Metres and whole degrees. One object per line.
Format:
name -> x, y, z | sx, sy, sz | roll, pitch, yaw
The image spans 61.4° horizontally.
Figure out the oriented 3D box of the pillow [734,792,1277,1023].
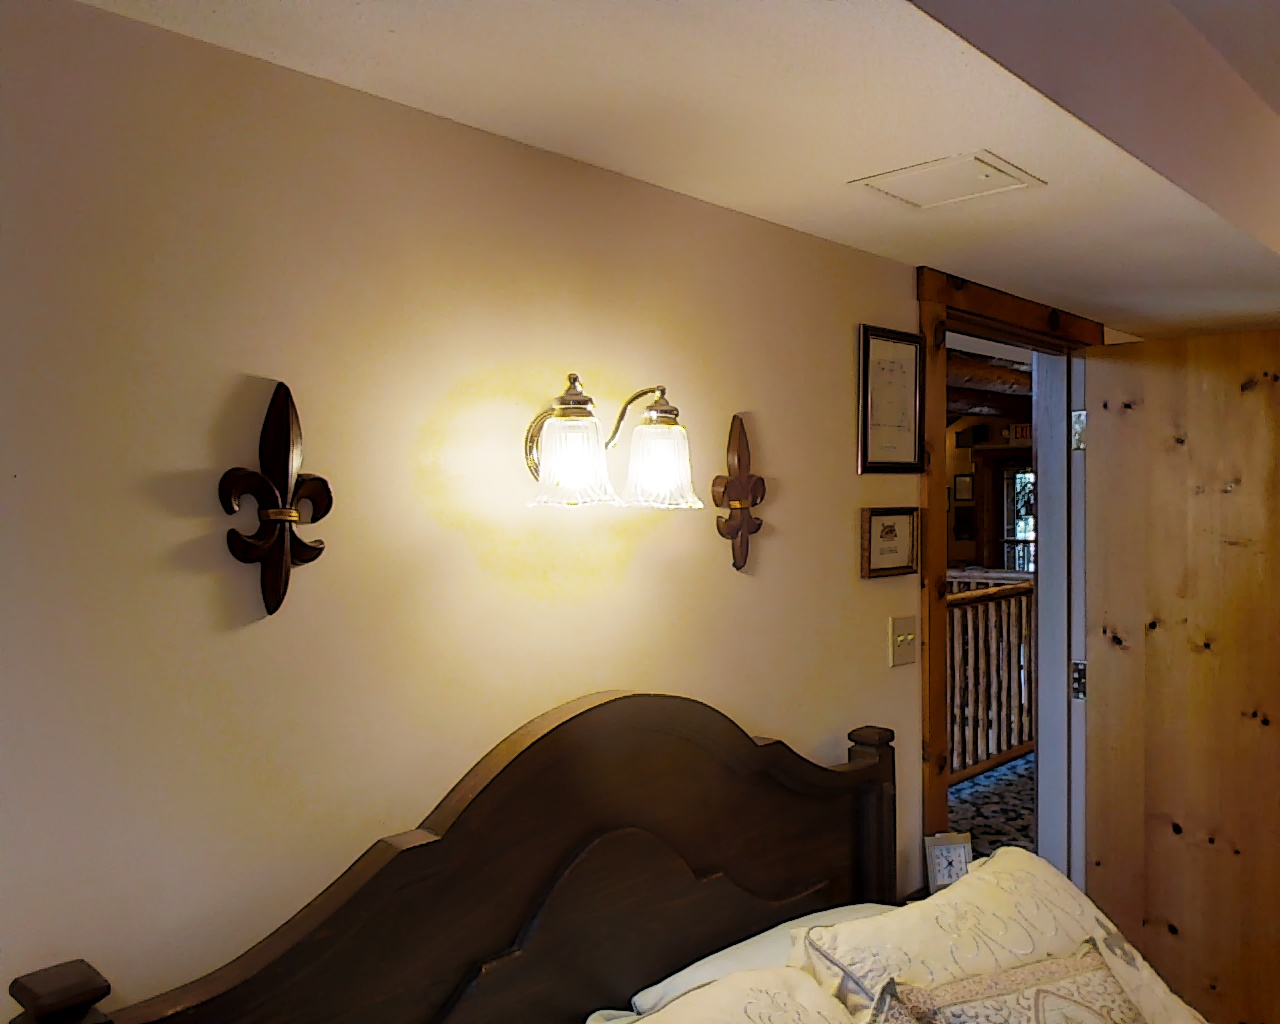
pillow -> 0.570, 0.710, 1.610 | 0.520, 0.330, 0.720 | 1, 2, 43
